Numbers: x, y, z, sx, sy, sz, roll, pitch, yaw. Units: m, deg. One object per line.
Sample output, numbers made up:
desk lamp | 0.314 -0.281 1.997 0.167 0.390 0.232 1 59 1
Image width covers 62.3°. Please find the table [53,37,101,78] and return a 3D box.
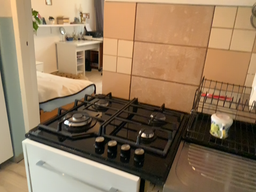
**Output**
table | -1.210 -1.000 5.240 0.560 0.790 1.080 14 22 24
